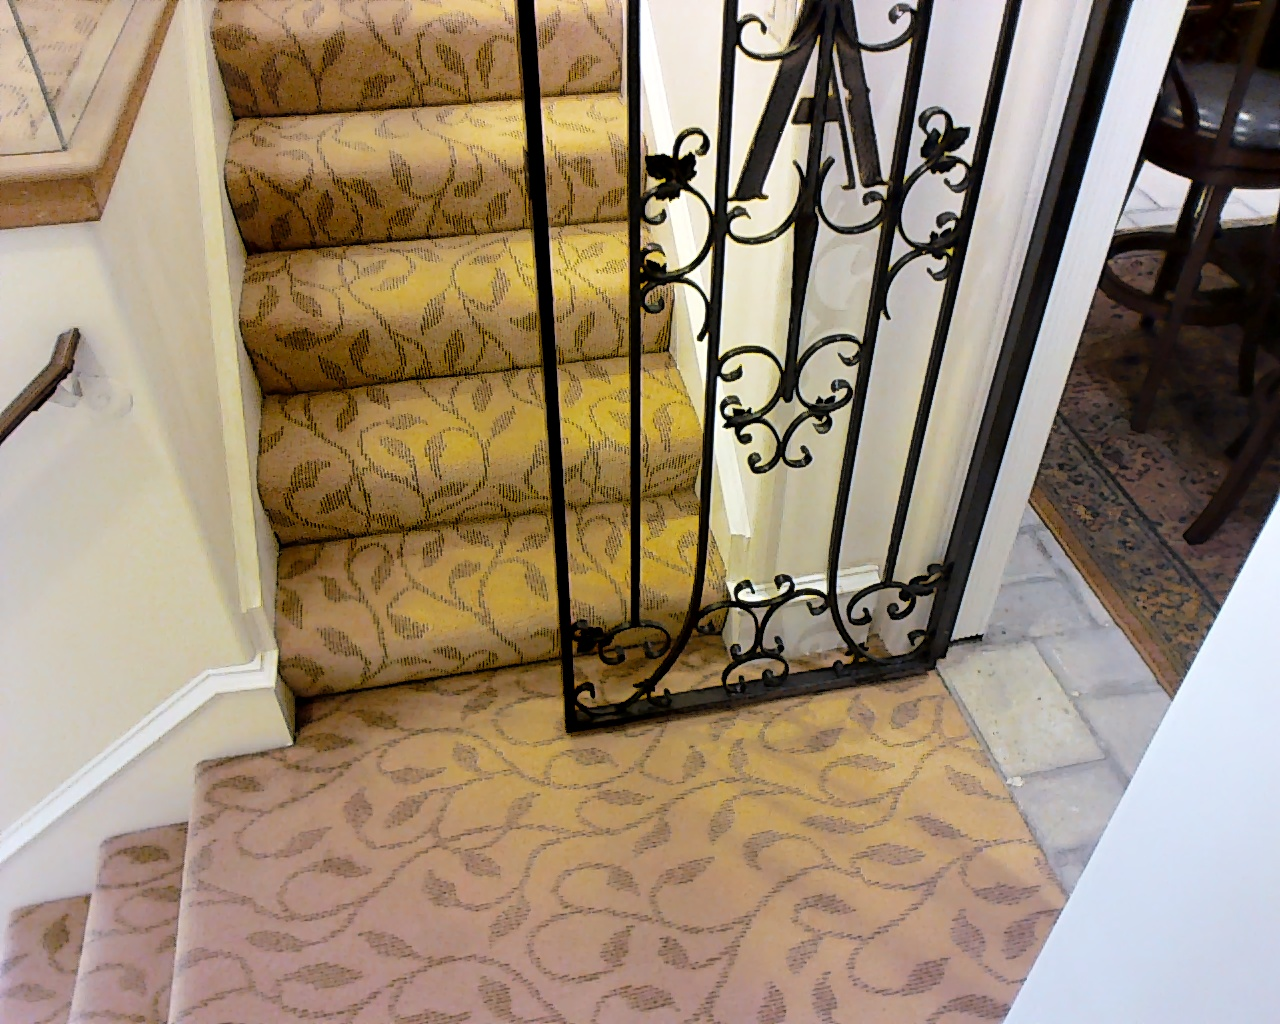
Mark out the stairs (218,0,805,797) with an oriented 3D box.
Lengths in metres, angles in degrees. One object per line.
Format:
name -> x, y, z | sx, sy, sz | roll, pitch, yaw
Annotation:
stairs -> -0.380, -0.380, 2.270 | 0.870, 1.660, 0.420 | -38, -50, 17
